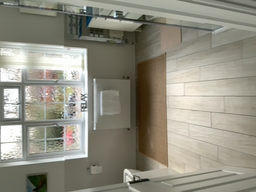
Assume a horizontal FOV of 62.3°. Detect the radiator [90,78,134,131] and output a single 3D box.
[{"bbox_3d":[-0.250,0.130,3.460,0.140,0.700,0.810,178,92,-68],"label":"radiator"}]
